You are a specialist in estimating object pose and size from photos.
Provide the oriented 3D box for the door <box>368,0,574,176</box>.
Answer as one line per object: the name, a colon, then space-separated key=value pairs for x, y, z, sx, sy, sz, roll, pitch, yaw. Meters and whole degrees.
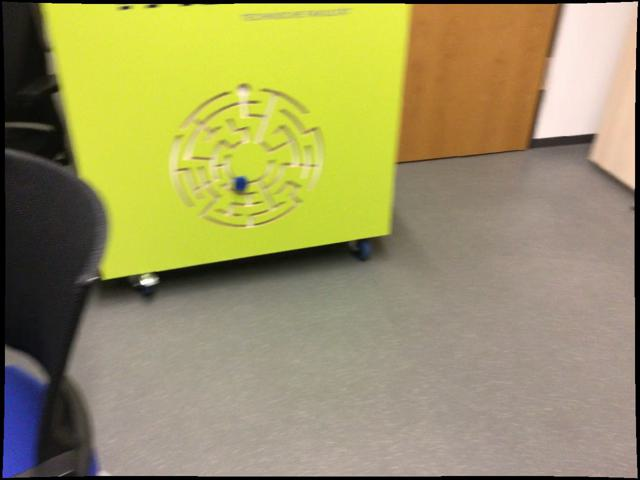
door: x=0.709 y=-1.301 z=2.460 sx=0.849 sy=2.102 sz=0.190 roll=-5 pitch=31 yaw=-11
